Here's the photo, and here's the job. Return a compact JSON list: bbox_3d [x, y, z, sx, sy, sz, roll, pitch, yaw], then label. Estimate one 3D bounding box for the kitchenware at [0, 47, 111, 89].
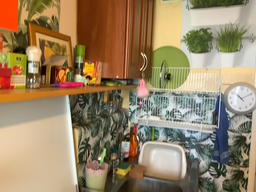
[{"bbox_3d":[-0.440,-0.080,0.580,0.100,0.120,1.450,4,5,24],"label":"kitchenware"}]
